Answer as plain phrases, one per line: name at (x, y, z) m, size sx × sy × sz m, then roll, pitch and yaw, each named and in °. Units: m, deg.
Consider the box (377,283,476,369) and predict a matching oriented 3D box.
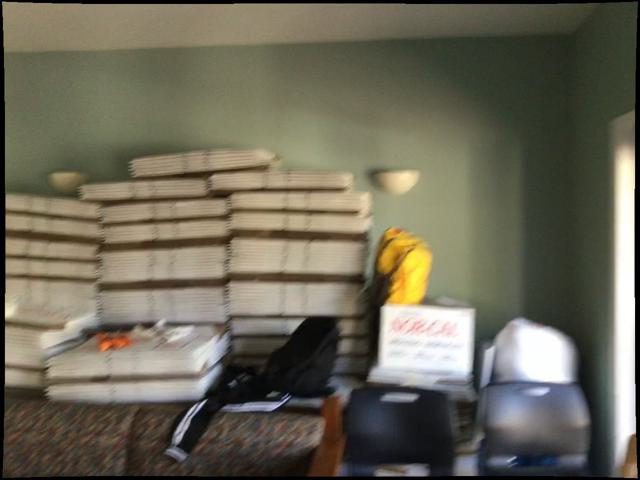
box at (0.529, 0.420, 2.910) m, size 0.470 × 0.370 × 0.250 m, roll 0°, pitch 4°, yaw 9°
